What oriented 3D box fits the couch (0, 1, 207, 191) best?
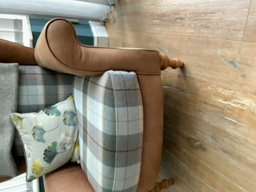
[{"bbox_3d":[-0.340,0.130,1.180,0.950,1.010,0.990,20,112,56],"label":"couch"}]
